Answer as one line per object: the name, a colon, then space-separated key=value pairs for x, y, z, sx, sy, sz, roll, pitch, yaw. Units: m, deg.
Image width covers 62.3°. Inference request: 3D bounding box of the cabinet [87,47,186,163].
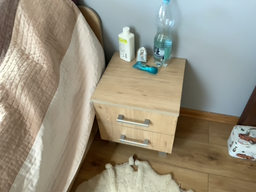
cabinet: x=0.070 y=0.050 z=1.220 sx=0.410 sy=0.470 sz=0.390 roll=10 pitch=47 yaw=12
